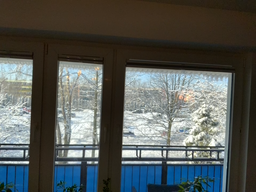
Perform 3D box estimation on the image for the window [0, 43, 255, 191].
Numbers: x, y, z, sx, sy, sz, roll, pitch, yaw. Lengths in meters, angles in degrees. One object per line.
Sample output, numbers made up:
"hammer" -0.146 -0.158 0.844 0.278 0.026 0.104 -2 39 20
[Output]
"window" -0.490 0.280 1.770 3.230 1.320 0.160 2 1 -8
